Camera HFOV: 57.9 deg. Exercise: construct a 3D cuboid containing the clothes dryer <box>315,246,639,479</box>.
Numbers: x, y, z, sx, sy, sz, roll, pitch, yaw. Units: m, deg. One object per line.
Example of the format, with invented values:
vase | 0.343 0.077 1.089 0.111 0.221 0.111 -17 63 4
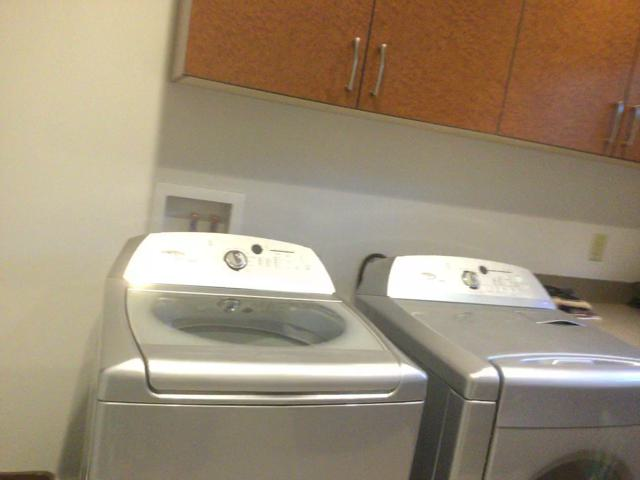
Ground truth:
clothes dryer | 0.500 0.640 1.730 0.750 1.070 0.740 5 8 -22
